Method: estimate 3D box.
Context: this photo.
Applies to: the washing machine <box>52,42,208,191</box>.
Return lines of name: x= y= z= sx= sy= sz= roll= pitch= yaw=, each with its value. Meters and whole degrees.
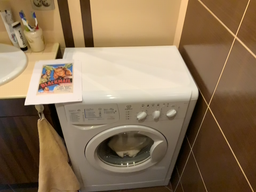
washing machine: x=-0.020 y=0.170 z=1.270 sx=0.610 sy=0.830 sz=0.460 roll=-2 pitch=42 yaw=-6
